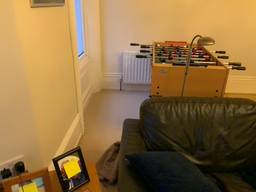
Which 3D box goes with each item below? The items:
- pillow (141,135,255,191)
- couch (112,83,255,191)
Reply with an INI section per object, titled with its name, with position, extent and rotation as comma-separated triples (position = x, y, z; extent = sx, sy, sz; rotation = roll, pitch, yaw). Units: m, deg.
[pillow]
position = 0.310, 0.420, 1.070
extent = 0.460, 0.180, 0.490
rotation = 2, 24, 1
[couch]
position = 0.920, 0.500, 1.360
extent = 1.960, 0.780, 1.040
rotation = 2, 24, 0
